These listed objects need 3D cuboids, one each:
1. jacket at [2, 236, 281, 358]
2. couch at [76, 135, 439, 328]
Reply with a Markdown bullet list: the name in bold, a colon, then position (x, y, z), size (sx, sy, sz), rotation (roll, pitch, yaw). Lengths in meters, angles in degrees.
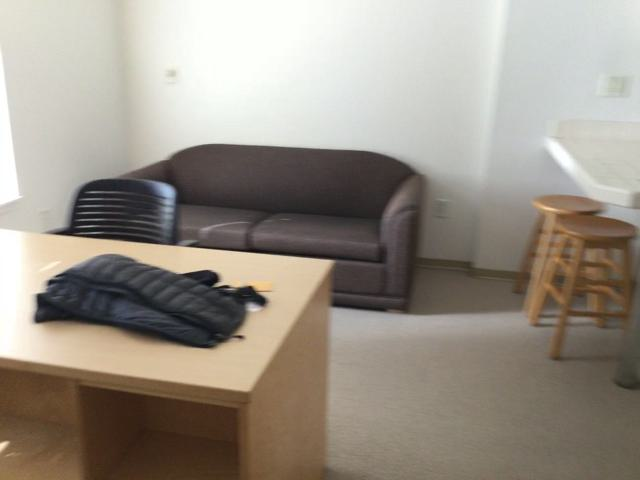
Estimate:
- **jacket**: position (-0.420, 0.120, 1.440), size (0.560, 0.130, 0.340), rotation (4, 18, 15)
- **couch**: position (-0.300, -0.140, 3.450), size (1.880, 0.820, 0.900), rotation (4, 18, 15)
